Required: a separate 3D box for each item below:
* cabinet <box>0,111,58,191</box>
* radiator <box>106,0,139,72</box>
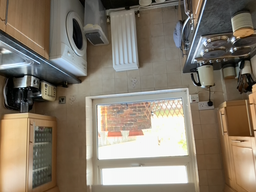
[{"bbox_3d":[-1.020,0.670,2.180,0.330,0.950,0.600,-5,170,8],"label":"cabinet"},{"bbox_3d":[-0.070,-0.750,2.500,0.320,0.900,0.130,-5,170,7],"label":"radiator"}]
